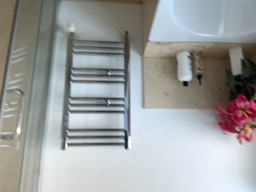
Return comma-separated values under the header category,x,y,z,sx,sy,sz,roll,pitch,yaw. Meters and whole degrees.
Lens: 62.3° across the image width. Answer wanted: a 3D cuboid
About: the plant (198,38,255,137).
category,x,y,z,sx,sy,sz,roll,pitch,yaw
plant,0.640,-0.030,1.280,0.270,0.520,0.330,1,166,-3
